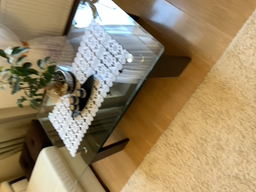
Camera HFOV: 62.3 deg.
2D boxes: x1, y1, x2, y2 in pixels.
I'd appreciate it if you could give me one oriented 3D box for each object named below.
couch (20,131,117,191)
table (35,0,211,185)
[{"bbox_3d":[-0.640,0.940,2.150,0.810,0.420,0.740,47,122,26],"label":"couch"},{"bbox_3d":[-0.150,-0.070,1.580,0.790,0.470,1.150,49,123,24],"label":"table"}]
